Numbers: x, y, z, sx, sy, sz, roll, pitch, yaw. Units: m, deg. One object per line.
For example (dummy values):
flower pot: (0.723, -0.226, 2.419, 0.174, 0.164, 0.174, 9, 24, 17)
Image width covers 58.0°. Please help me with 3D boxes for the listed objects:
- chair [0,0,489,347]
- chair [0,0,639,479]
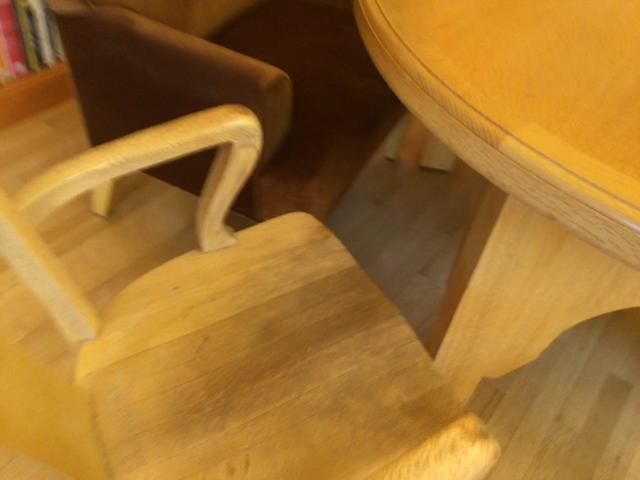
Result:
chair: (-0.110, -0.490, 1.390, 0.800, 0.910, 0.880, 22, 48, 17)
chair: (-0.120, 0.180, 0.760, 0.670, 0.920, 0.640, -18, 49, -20)
